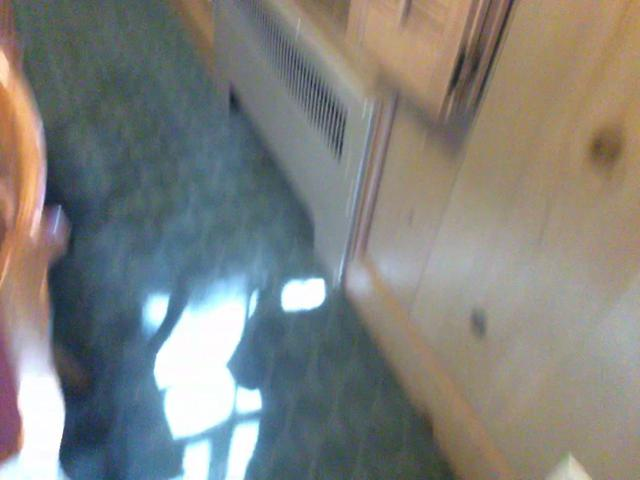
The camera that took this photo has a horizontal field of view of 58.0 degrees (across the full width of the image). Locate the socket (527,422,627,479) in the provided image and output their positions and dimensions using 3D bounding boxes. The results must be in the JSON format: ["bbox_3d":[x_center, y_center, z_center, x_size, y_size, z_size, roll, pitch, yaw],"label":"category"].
[{"bbox_3d":[0.410,0.390,0.930,0.020,0.200,0.110,-15,51,-20],"label":"socket"}]
